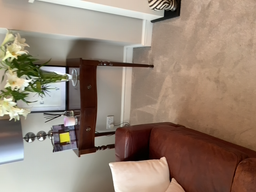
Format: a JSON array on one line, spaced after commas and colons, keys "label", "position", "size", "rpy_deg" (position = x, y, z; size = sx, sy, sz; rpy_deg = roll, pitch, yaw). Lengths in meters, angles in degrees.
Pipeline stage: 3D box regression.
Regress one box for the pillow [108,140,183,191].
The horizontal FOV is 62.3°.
[{"label": "pillow", "position": [0.120, 0.570, 1.410], "size": [0.310, 0.350, 0.370], "rpy_deg": [18, 120, 57]}]
